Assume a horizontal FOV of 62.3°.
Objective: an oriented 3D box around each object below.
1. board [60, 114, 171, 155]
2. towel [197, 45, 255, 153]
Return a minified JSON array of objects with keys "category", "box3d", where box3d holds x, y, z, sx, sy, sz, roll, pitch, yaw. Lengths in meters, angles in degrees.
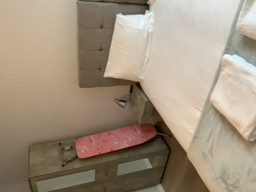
[{"category":"board","box3d":[-0.170,0.500,2.920,0.430,1.440,0.160,-114,26,-51]},{"category":"towel","box3d":[0.590,0.000,1.130,0.440,0.100,0.380,-115,28,-47]}]
